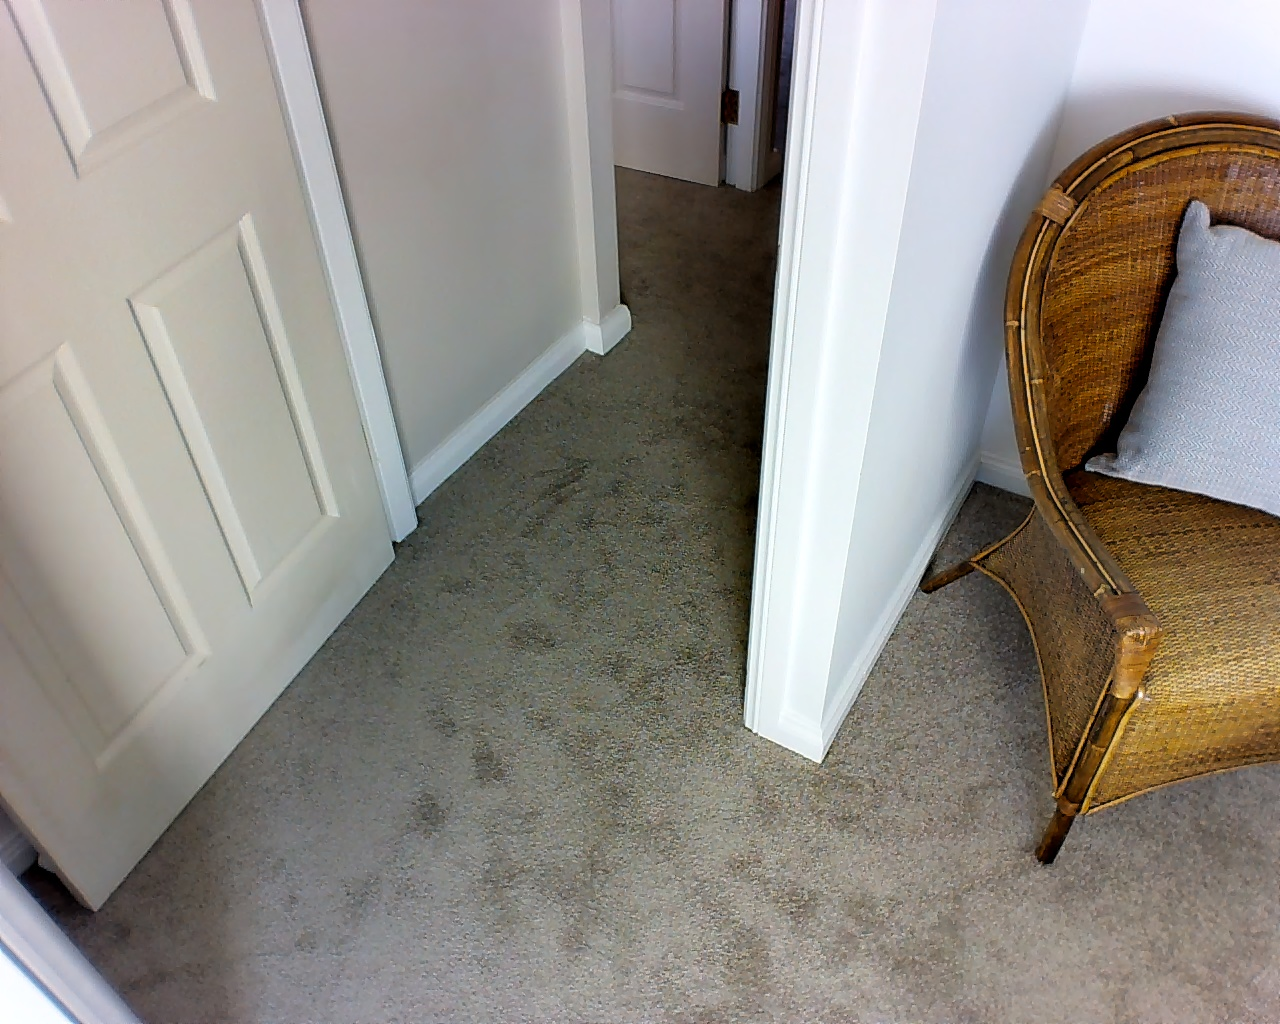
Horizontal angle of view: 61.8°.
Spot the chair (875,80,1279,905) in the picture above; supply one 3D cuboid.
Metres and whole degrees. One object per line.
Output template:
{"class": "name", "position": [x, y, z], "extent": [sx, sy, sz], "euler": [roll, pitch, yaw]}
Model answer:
{"class": "chair", "position": [0.850, -0.030, 1.580], "extent": [0.710, 0.900, 0.750], "euler": [-5, 44, -3]}
